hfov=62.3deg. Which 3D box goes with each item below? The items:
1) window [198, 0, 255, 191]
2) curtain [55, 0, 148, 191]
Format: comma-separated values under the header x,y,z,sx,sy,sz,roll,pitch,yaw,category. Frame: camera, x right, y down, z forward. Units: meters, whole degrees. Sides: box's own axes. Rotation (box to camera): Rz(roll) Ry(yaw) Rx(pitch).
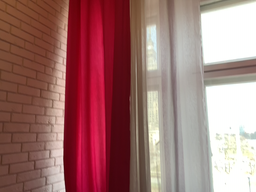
x,y,z,sx,sy,sz,roll,pitch,yaw,category
1.070,0.080,1.950,0.690,2.040,0.250,-4,-10,23,window
-0.230,-0.100,1.900,0.750,2.910,0.230,-4,-10,24,curtain
